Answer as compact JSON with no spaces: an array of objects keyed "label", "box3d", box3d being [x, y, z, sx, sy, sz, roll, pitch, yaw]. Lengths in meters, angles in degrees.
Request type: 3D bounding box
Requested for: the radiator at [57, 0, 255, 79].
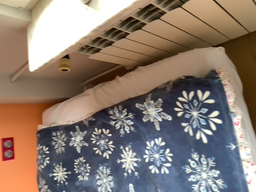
[{"label":"radiator","box3d":[0.290,-0.290,0.880,1.160,0.630,0.120,-14,79,42]}]
